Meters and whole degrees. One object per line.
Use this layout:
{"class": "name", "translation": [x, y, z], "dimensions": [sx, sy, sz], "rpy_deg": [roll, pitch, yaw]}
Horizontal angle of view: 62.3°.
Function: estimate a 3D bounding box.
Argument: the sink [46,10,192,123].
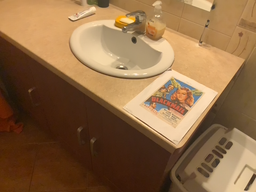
{"class": "sink", "translation": [-0.040, -0.180, 0.990], "dimensions": [0.490, 0.170, 0.410], "rpy_deg": [33, 52, 24]}
